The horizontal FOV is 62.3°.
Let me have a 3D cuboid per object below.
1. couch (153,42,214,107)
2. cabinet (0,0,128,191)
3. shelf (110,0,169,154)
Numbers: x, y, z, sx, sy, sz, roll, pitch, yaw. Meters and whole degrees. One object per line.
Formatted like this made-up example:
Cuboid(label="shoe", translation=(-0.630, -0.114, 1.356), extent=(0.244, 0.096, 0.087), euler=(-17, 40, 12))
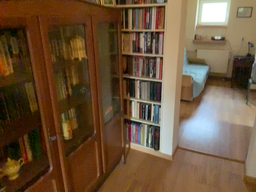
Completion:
Cuboid(label="couch", translation=(1.440, -0.680, 5.130), extent=(0.890, 0.970, 2.430), euler=(9, 21, 24))
Cuboid(label="cabinet", translation=(-0.550, 0.180, 1.620), extent=(0.480, 1.680, 1.500), euler=(9, 22, 24))
Cuboid(label="shelf", translation=(0.110, -0.280, 2.410), extent=(0.600, 1.970, 0.110), euler=(9, 22, 24))
